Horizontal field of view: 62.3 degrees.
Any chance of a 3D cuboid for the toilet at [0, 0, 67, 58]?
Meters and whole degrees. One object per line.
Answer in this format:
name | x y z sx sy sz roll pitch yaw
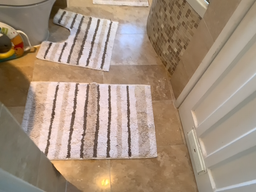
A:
toilet | -0.730 -0.560 1.360 0.580 0.460 0.410 0 61 -8
